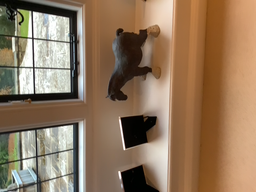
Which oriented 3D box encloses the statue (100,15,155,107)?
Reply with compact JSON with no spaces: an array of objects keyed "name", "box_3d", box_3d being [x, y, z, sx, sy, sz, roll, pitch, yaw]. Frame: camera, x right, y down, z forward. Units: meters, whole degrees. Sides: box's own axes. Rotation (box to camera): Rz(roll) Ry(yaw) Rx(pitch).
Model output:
[{"name":"statue","box_3d":[0.000,-0.200,1.330,0.190,0.280,0.500,5,97,52]}]
